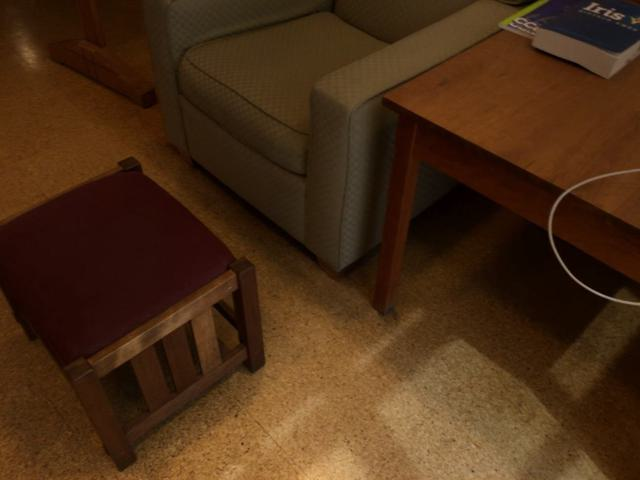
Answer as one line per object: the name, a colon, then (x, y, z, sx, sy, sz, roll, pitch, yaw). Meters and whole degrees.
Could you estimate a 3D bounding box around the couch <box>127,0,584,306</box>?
couch: (0.070, -0.530, 1.680, 0.840, 0.760, 0.900, -32, 55, -31)
